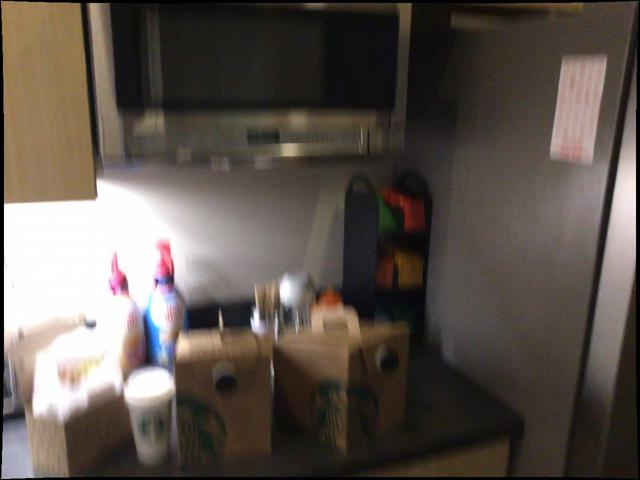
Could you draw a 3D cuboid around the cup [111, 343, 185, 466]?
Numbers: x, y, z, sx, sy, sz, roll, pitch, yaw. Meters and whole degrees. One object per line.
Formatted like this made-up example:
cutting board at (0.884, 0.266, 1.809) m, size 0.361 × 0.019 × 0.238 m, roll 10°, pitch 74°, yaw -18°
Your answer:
cup at (-0.319, 0.301, 1.070) m, size 0.110 × 0.170 × 0.110 m, roll -6°, pitch 19°, yaw -19°
